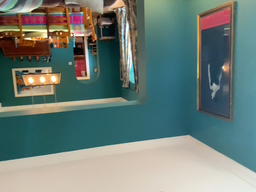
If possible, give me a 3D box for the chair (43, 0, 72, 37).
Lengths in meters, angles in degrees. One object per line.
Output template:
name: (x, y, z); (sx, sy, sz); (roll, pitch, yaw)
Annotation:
chair: (-1.350, -1.630, 4.090); (0.450, 0.900, 0.460); (-4, -171, -12)
